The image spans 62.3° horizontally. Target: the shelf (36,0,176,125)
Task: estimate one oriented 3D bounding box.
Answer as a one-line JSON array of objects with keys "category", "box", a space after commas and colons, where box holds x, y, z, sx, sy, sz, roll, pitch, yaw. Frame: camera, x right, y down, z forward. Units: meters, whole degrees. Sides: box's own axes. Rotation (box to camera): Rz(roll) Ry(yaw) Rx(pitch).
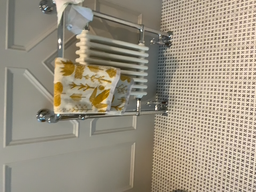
[{"category": "shelf", "box": [-0.080, -0.230, 1.260, 0.240, 0.800, 0.710, 5, 94, 50]}]
